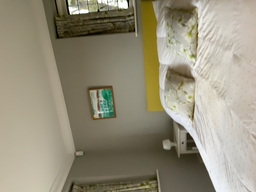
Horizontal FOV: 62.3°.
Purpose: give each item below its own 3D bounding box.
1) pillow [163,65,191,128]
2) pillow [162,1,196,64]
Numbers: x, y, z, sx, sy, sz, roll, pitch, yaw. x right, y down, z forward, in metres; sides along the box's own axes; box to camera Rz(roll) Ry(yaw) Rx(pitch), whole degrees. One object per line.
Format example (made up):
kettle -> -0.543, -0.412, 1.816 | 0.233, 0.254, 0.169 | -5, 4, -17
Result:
pillow -> 0.530, -0.010, 2.340 | 0.390, 0.220, 0.580 | -86, -9, -71
pillow -> 0.480, -0.620, 2.050 | 0.420, 0.220, 0.510 | -87, -8, -68
